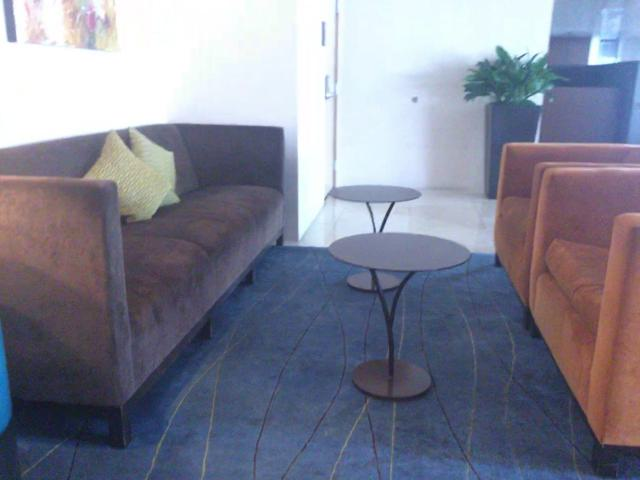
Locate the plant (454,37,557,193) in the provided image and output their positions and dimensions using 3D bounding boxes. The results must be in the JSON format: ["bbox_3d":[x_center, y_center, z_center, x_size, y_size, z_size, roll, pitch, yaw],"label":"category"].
[{"bbox_3d":[1.630,-1.120,5.240,0.770,1.280,0.690,0,15,11],"label":"plant"}]
